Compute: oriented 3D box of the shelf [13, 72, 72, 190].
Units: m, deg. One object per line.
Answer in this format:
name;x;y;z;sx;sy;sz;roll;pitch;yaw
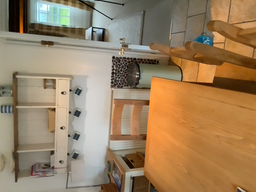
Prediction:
shelf;-0.990;0.400;2.470;0.190;0.590;1.300;-154;67;-66
